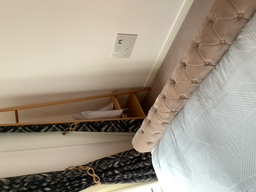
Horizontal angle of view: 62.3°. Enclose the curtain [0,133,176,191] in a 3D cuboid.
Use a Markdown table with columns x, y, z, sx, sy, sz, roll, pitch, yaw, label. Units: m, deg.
| x | y | z | sx | sy | sz | roll | pitch | yaw | label |
| --- | --- | --- | --- | --- | --- | --- | --- | --- | --- |
| -0.700 | 0.770 | 1.870 | 0.430 | 2.470 | 0.260 | 66 | 147 | 33 | curtain |
